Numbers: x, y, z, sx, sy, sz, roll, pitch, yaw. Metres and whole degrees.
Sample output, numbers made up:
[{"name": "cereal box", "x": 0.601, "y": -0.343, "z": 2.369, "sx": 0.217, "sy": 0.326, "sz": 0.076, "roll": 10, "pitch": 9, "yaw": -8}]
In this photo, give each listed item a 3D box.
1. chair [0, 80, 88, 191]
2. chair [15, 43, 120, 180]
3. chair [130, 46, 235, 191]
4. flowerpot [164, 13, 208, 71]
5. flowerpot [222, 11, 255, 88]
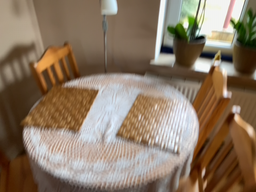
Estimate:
[{"name": "chair", "x": -0.490, "y": 0.460, "z": 1.110, "sx": 0.510, "sy": 0.950, "sz": 0.390, "roll": -11, "pitch": 37, "yaw": -16}, {"name": "chair", "x": -0.380, "y": 0.130, "z": 1.620, "sx": 0.510, "sy": 0.900, "sz": 0.400, "roll": 13, "pitch": 37, "yaw": 16}, {"name": "chair", "x": 0.310, "y": 0.190, "z": 1.510, "sx": 0.510, "sy": 0.940, "sz": 0.390, "roll": 8, "pitch": 36, "yaw": 10}, {"name": "flowerpot", "x": 0.420, "y": -0.400, "z": 1.550, "sx": 0.210, "sy": 0.310, "sz": 0.250, "roll": 16, "pitch": 38, "yaw": 20}, {"name": "flowerpot", "x": 0.830, "y": -0.320, "z": 1.460, "sx": 0.240, "sy": 0.420, "sz": 0.280, "roll": 12, "pitch": 37, "yaw": 15}]
